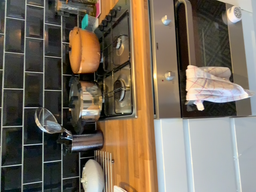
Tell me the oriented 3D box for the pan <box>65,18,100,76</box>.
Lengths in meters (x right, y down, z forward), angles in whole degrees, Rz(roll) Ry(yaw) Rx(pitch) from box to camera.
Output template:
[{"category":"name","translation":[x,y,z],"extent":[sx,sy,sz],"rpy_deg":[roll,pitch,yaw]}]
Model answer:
[{"category":"pan","translation":[-0.260,-0.260,1.180],"extent":[0.190,0.140,0.250],"rpy_deg":[-16,76,61]}]
